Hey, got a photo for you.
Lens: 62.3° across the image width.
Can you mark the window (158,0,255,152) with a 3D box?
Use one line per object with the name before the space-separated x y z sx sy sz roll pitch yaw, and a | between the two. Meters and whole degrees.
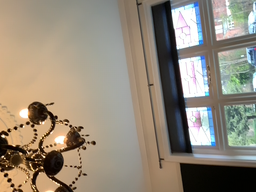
window | 1.390 -0.290 2.730 0.080 1.790 2.090 -21 -77 -60
